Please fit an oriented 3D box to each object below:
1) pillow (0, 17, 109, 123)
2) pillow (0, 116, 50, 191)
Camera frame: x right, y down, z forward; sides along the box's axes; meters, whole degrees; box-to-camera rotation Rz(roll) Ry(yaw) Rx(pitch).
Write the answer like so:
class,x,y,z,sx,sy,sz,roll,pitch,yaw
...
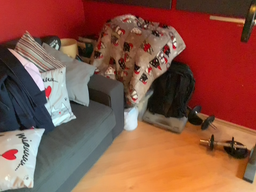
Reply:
class,x,y,z,sx,sy,sz,roll,pitch,yaw
pillow,-0.610,-0.260,1.640,0.680,0.480,0.590,20,39,27
pillow,-0.700,0.310,1.120,0.480,0.120,0.420,-6,34,-8
